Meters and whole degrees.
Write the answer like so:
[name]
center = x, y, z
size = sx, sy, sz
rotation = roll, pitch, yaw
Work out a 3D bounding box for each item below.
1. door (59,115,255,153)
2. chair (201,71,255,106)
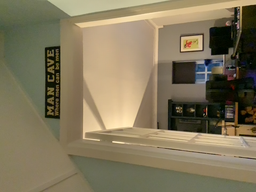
[door]
center = 0.600, 0.310, 1.850
size = 0.880, 2.270, 0.100
rotation = 7, -95, -67
[chair]
center = 2.230, -0.170, 4.320
size = 0.740, 1.330, 0.630
rotation = -12, -78, -66
